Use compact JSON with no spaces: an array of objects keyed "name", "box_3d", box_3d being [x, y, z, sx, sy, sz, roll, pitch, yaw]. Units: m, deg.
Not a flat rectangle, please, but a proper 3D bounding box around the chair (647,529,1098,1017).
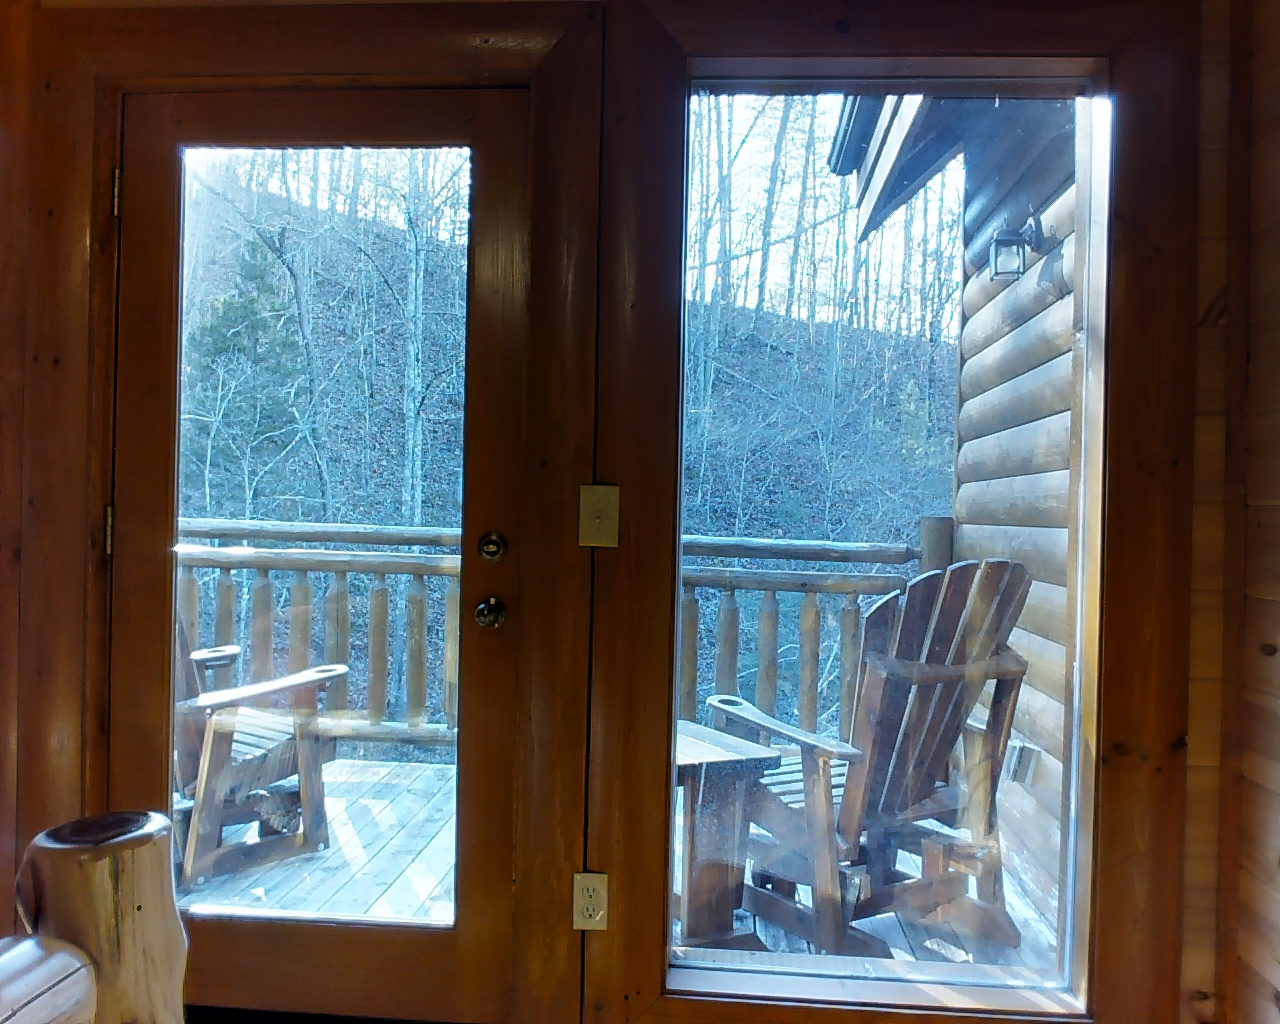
[{"name":"chair","box_3d":[0.660,0.630,3.160,0.800,1.110,0.960,2,1,-41]}]
